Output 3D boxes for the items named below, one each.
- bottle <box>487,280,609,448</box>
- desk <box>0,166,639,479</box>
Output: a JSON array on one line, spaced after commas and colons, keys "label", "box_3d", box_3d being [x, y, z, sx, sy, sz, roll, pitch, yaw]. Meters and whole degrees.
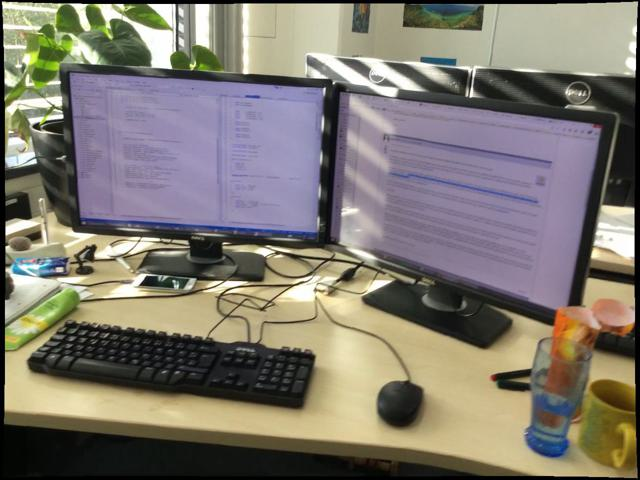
[{"label": "bottle", "box_3d": [0.340, 0.180, 0.870, 0.130, 0.180, 0.130, 11, 22, 20]}, {"label": "desk", "box_3d": [-0.020, 0.450, 1.170, 2.028, 0.731, 1.000, 11, 22, 20]}]
